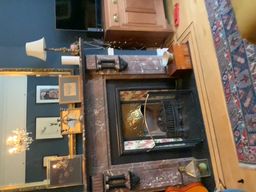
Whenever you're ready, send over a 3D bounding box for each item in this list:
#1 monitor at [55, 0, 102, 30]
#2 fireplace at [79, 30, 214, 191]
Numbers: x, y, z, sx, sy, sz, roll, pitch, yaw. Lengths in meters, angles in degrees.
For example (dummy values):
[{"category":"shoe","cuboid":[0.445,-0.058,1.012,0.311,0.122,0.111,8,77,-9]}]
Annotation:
[{"category":"monitor","cuboid":[-0.670,-1.390,2.880,0.060,0.620,0.930,-169,78,-75]},{"category":"fireplace","cuboid":[0.100,0.240,2.390,0.600,1.220,1.770,131,136,-68]}]
